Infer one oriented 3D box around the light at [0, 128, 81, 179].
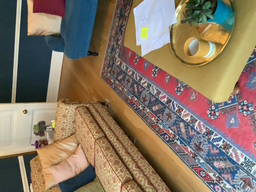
[{"bbox_3d":[-1.610,0.860,3.180,0.400,1.680,0.470,45,126,46],"label":"light"}]
